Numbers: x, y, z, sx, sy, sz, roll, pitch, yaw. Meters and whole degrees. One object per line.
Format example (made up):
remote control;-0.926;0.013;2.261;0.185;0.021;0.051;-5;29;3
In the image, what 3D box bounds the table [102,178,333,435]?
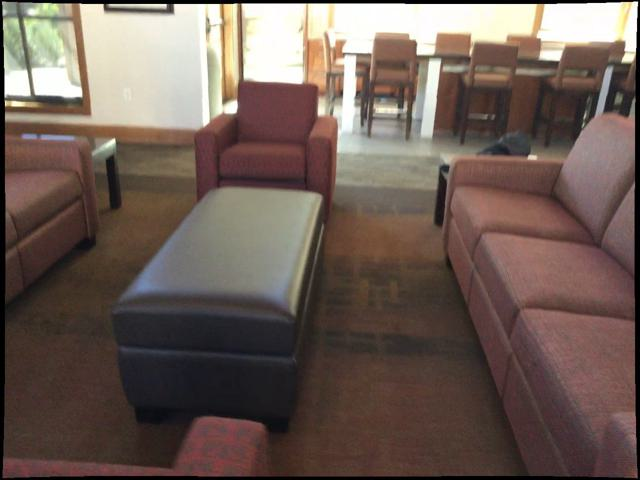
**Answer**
table;-0.290;0.170;2.350;0.619;0.490;1.220;-2;23;4
